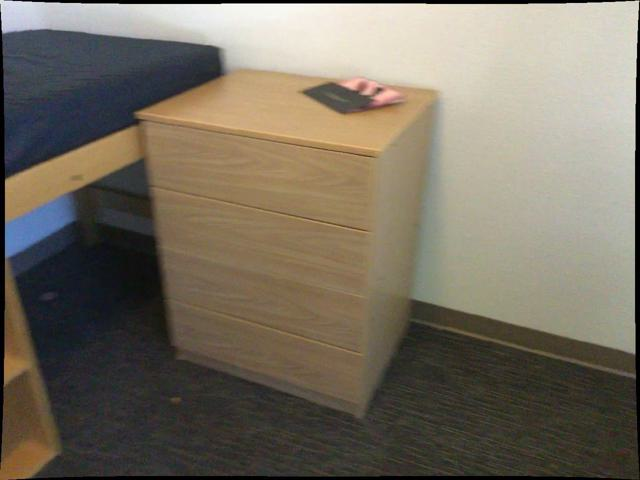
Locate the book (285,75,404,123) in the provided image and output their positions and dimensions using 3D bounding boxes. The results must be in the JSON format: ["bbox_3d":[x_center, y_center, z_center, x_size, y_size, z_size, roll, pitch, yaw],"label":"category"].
[{"bbox_3d":[0.070,-0.461,1.850,0.270,0.040,0.330,-11,32,-19],"label":"book"}]
